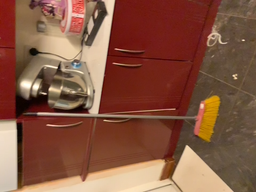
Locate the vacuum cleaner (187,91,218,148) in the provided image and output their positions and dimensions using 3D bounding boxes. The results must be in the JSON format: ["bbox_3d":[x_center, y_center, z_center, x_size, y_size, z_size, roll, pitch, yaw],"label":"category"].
[{"bbox_3d":[0.570,0.180,1.640,0.140,0.080,0.410,28,115,56],"label":"vacuum cleaner"}]
